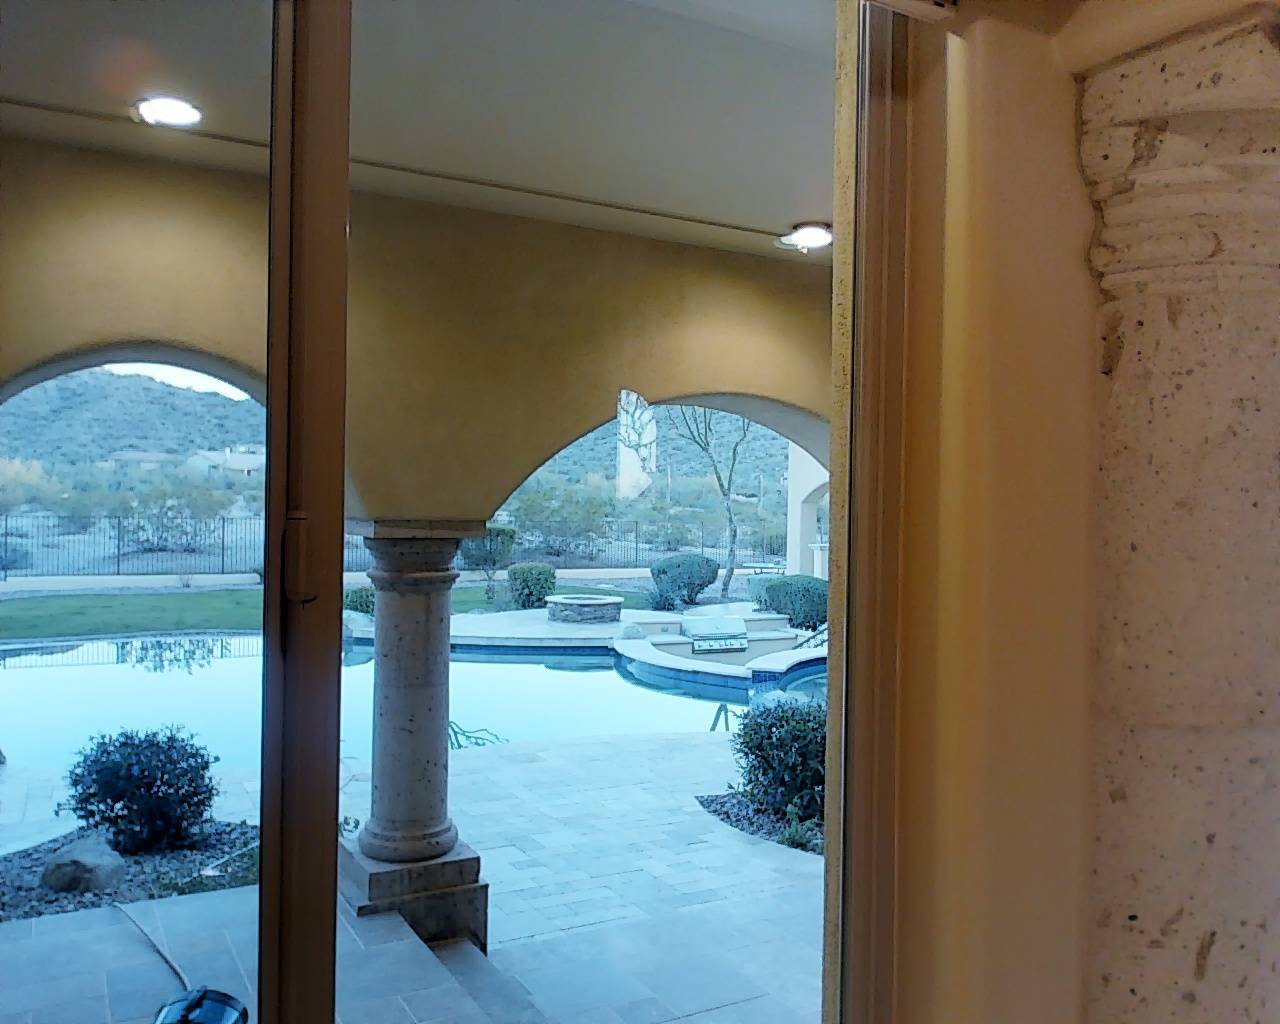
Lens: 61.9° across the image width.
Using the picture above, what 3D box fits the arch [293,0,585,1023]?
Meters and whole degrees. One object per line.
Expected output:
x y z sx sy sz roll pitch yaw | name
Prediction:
-0.540 0.150 2.740 0.480 2.610 0.690 1 0 -30 | arch
